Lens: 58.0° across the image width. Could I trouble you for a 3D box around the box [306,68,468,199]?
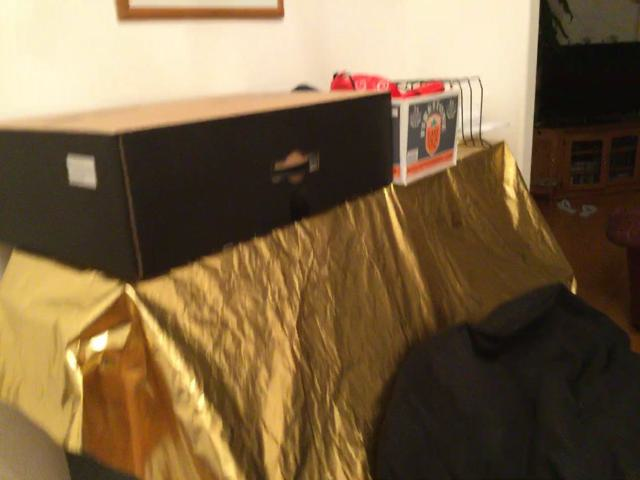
[{"bbox_3d":[0.190,-0.300,1.570,0.310,0.290,0.310,9,22,37],"label":"box"}]
